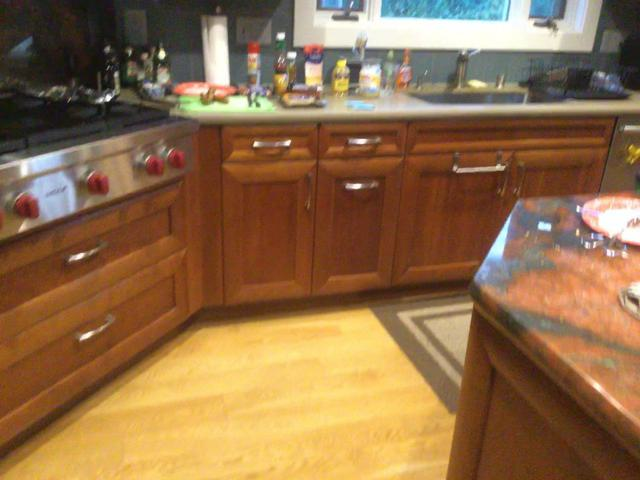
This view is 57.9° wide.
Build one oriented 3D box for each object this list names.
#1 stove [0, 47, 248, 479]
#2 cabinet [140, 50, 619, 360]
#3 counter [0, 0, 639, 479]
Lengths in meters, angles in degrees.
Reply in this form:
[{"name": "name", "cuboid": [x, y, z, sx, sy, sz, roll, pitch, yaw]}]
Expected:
[{"name": "stove", "cuboid": [-0.960, 0.010, 1.760, 0.840, 1.010, 1.300, 17, 24, 20]}, {"name": "cabinet", "cuboid": [0.260, -0.130, 2.420, 1.900, 1.050, 0.330, -1, 24, -23]}, {"name": "counter", "cuboid": [0.320, -0.290, 1.620, 3.800, 0.380, 2.580, -1, 24, -23]}]
